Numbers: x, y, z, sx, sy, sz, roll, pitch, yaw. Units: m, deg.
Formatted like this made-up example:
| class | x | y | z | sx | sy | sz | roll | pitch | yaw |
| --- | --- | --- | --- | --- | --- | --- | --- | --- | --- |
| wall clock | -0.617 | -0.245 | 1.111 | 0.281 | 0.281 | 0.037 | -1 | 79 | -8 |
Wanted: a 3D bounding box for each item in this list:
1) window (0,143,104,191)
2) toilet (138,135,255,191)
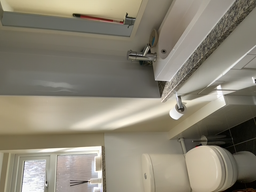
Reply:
| class | x | y | z | sx | sy | sz | roll | pitch | yaw |
| --- | --- | --- | --- | --- | --- | --- | --- | --- | --- |
| window | -0.710 | 0.770 | 1.900 | 0.130 | 0.960 | 0.650 | 118 | 150 | -59 |
| toilet | 0.570 | 0.600 | 1.750 | 0.680 | 0.780 | 0.360 | 119 | 149 | -60 |
